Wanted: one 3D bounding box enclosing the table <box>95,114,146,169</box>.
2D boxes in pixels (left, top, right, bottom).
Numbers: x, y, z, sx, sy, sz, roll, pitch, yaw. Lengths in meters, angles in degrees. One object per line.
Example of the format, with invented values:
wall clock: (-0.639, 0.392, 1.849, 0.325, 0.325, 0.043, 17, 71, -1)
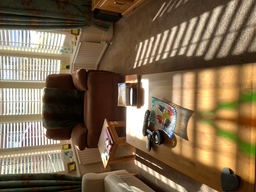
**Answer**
table: (-0.110, 0.550, 2.600, 0.370, 0.410, 0.510, 59, 140, 45)
